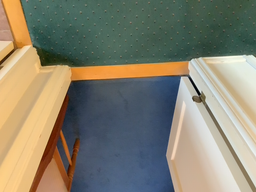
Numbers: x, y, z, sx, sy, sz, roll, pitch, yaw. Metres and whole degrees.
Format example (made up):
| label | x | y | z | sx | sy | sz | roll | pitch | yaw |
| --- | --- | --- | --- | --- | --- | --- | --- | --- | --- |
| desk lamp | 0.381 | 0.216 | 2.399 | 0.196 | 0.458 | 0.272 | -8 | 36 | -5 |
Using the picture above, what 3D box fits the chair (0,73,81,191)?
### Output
| label | x | y | z | sx | sy | sz | roll | pitch | yaw |
| --- | --- | --- | --- | --- | --- | --- | --- | --- | --- |
| chair | -0.560 | 0.360 | 1.060 | 0.460 | 0.910 | 0.580 | -1 | 124 | -3 |
